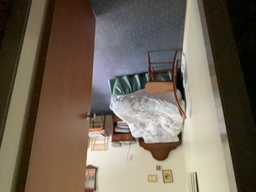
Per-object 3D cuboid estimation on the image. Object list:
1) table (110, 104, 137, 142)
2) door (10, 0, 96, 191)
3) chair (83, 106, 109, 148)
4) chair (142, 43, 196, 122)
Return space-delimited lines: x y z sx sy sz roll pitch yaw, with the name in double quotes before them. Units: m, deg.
"table" -0.090 0.590 4.550 0.480 0.710 0.380 -5 158 10
"door" -0.360 0.060 1.270 0.070 2.020 0.700 -4 159 7
"chair" -0.680 0.690 4.630 0.420 0.820 0.400 -5 158 10
"chair" 0.470 -0.150 2.540 0.520 0.810 0.370 -5 158 10
